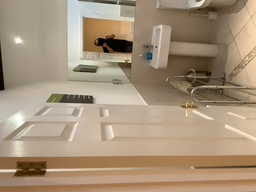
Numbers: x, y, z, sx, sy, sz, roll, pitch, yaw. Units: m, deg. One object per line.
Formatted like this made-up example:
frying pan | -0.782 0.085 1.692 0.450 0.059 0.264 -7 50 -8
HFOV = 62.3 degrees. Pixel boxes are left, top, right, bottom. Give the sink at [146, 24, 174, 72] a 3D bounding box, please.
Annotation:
sink | 0.400 -0.630 2.750 0.440 0.180 0.550 -117 30 -71
